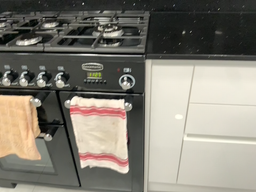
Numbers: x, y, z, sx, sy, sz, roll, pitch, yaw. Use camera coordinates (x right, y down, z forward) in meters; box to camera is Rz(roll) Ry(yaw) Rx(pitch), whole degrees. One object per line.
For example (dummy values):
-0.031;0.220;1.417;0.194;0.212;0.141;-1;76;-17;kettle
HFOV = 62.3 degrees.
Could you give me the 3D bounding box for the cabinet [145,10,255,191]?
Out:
0.660;0.070;1.170;1.100;0.900;0.620;2;34;6;cabinet
